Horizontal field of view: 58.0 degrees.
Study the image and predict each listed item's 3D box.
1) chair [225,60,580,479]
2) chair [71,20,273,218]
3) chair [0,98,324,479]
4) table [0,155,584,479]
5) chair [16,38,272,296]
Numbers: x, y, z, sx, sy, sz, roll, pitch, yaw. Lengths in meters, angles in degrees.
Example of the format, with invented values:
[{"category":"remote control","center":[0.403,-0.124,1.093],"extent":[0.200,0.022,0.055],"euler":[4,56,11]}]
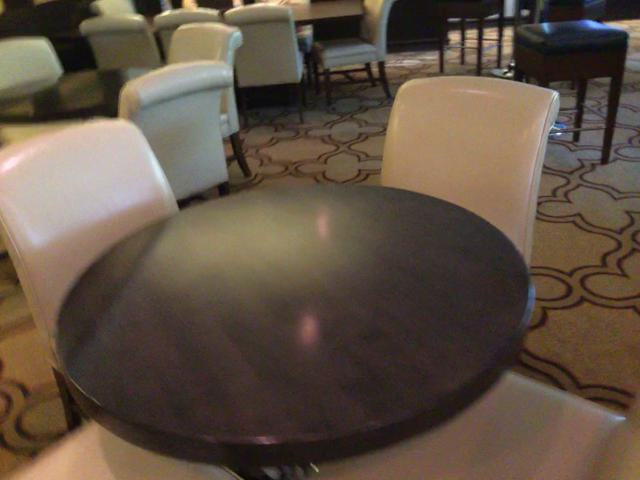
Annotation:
[{"category":"chair","center":[0.280,0.040,1.710],"extent":[0.580,0.920,0.810],"euler":[17,35,34]},{"category":"chair","center":[-0.820,-0.750,3.400],"extent":[0.650,0.900,0.760],"euler":[17,35,34]},{"category":"chair","center":[-0.490,0.180,1.590],"extent":[0.760,0.930,0.560],"euler":[17,35,34]},{"category":"table","center":[-0.070,0.080,1.170],"extent":[0.890,0.080,0.910],"euler":[17,35,34]},{"category":"chair","center":[-0.810,-0.400,2.730],"extent":[0.970,0.920,0.540],"euler":[20,36,37]}]
